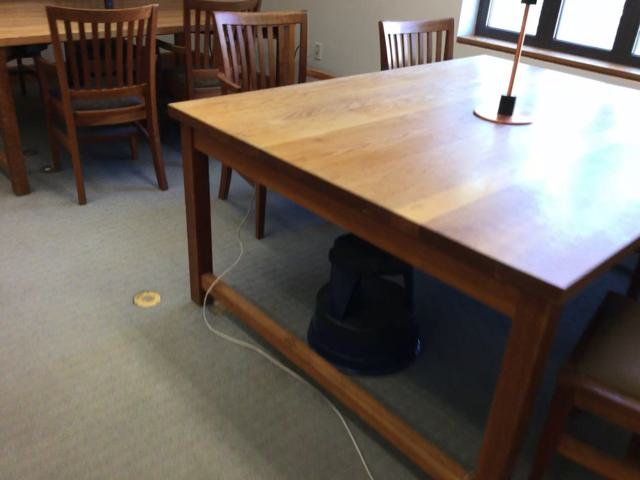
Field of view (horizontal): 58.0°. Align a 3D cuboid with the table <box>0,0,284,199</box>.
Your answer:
[{"bbox_3d":[-1.400,-1.060,3.490,1.680,1.010,1.470,-12,32,-43],"label":"table"}]

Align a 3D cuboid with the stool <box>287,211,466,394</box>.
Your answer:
[{"bbox_3d":[0.180,0.190,1.990,0.340,0.420,0.410,-12,32,-43],"label":"stool"}]

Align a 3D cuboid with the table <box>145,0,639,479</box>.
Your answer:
[{"bbox_3d":[0.550,-0.100,2.120,1.760,1.050,1.430,-12,32,-43],"label":"table"}]
